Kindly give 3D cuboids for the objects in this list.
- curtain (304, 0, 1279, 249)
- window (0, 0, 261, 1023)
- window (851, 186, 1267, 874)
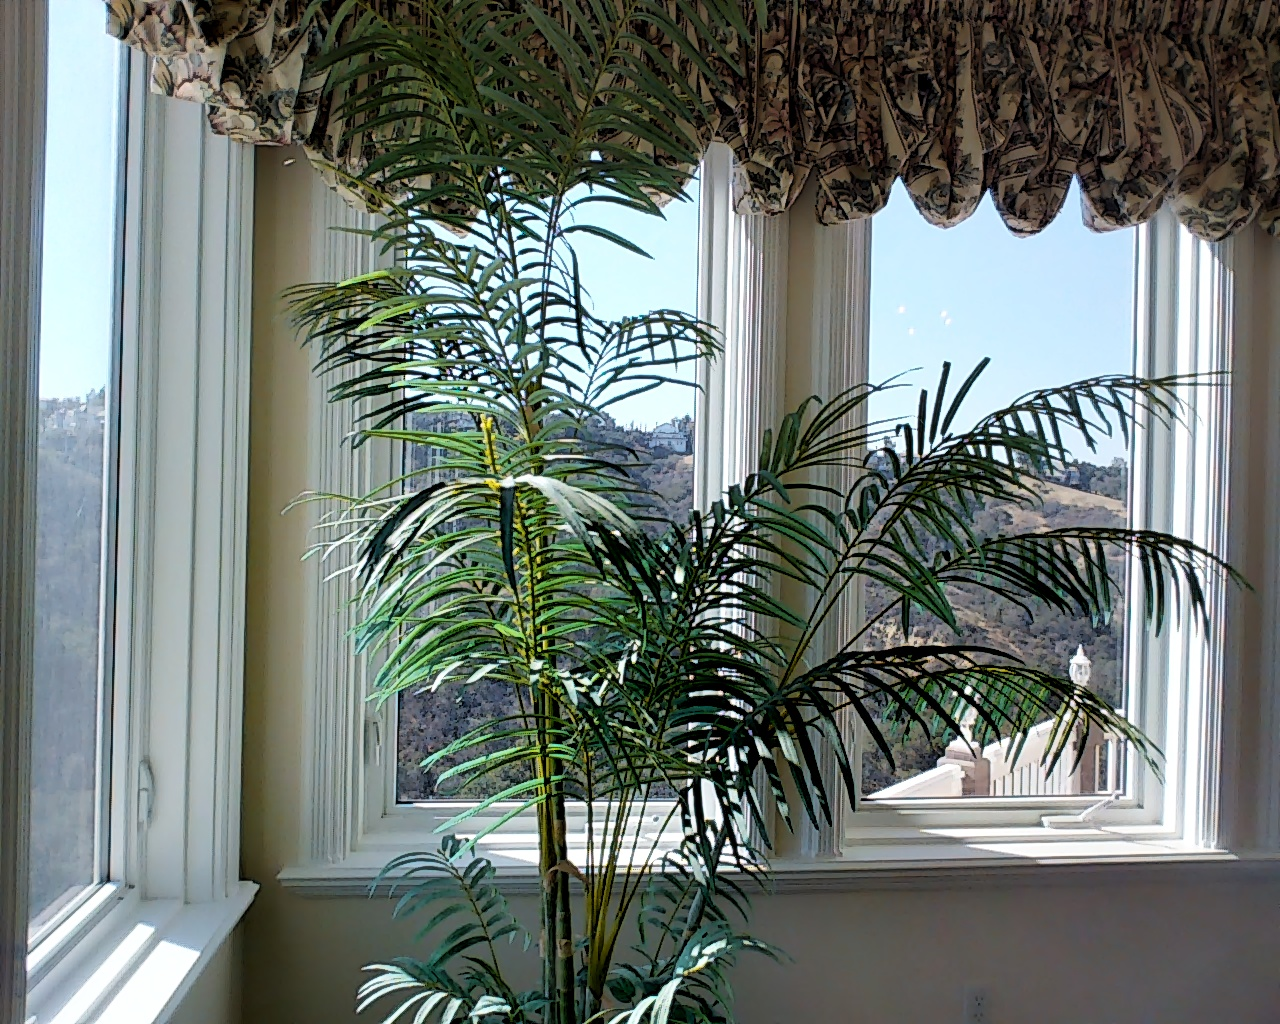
[{"bbox_3d":[1.490,-0.930,2.450,4.341,0.590,0.240,1,0,-6],"label":"curtain"},{"bbox_3d":[-0.780,0.040,1.580,0.190,1.600,0.910,1,0,-7],"label":"window"},{"bbox_3d":[0.960,0.050,2.450,0.920,1.520,0.080,1,0,-6],"label":"window"}]
